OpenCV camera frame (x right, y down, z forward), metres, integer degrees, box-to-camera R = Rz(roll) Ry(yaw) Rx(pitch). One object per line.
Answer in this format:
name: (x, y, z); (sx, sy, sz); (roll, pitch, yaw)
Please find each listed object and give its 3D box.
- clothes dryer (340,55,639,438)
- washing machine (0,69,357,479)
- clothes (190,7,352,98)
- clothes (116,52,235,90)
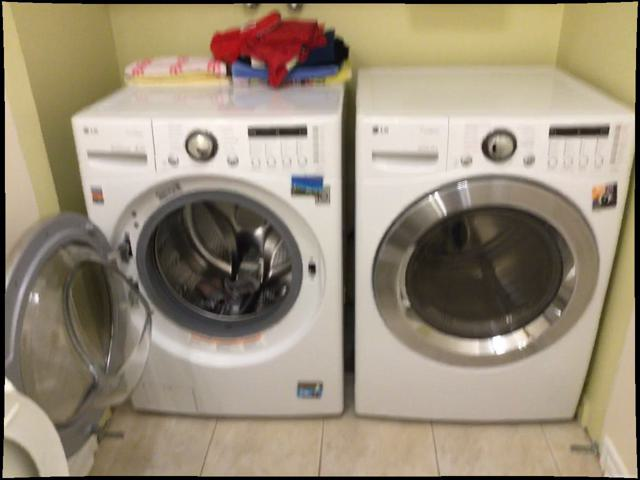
clothes dryer: (0.460, -0.040, 1.930); (0.749, 0.971, 0.870); (1, 26, 4)
washing machine: (-0.280, 0.130, 1.620); (0.749, 0.971, 1.190); (1, 26, 4)
clothes: (-0.130, -0.591, 1.800); (0.450, 0.220, 0.310); (1, 26, 4)
clothes: (-0.450, -0.541, 1.840); (0.320, 0.080, 0.190); (1, 26, 4)
